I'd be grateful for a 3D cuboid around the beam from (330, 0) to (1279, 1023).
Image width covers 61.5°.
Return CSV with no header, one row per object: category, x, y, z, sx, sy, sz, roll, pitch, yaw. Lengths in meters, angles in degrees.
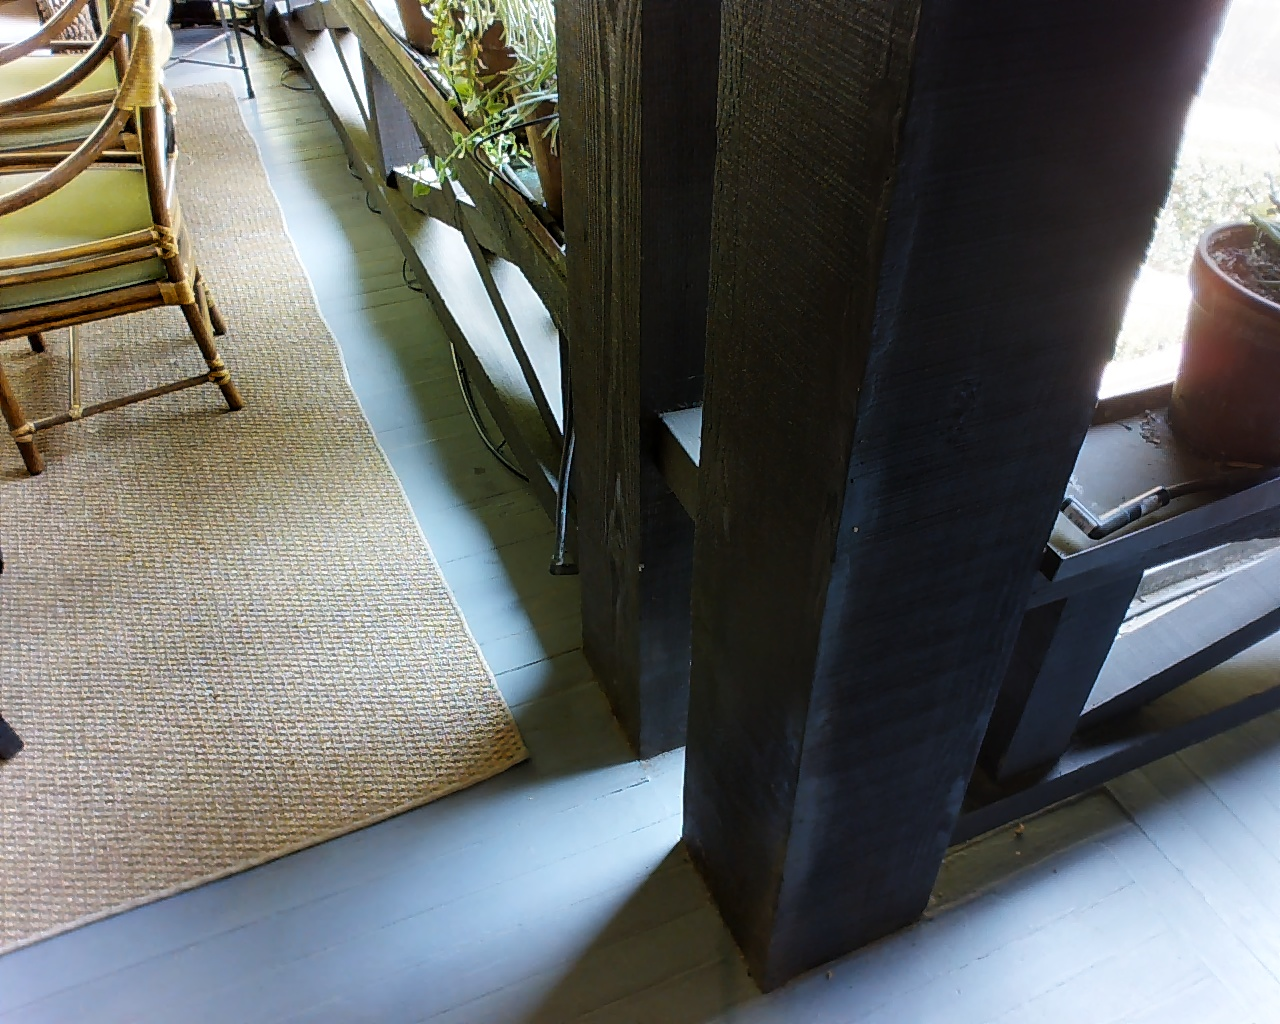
beam,0.150,-0.450,1.170,0.780,2.270,0.880,-16,45,-18
